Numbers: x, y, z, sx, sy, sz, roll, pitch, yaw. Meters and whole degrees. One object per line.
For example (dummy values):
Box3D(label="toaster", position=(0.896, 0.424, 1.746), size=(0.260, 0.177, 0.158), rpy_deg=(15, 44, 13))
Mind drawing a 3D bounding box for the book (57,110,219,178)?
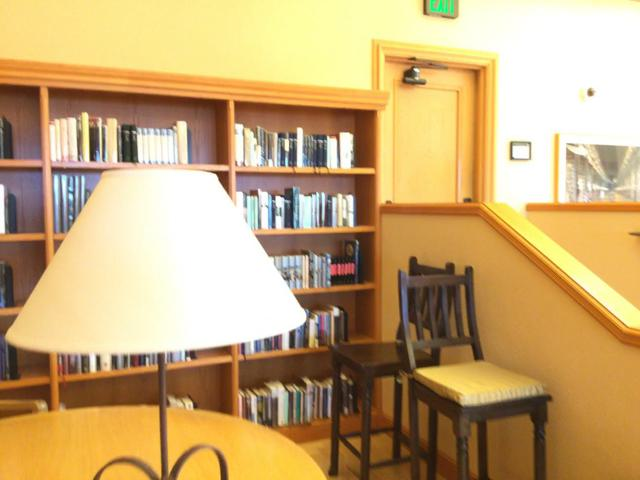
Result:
Box3D(label="book", position=(-0.980, -0.500, 3.120), size=(0.780, 0.310, 0.370), rpy_deg=(-3, 4, -23))

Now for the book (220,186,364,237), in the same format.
Box3D(label="book", position=(-0.160, -0.180, 3.490), size=(0.840, 0.280, 0.210), rpy_deg=(-3, 4, -23))

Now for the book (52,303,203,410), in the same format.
Box3D(label="book", position=(-1.040, 0.610, 3.150), size=(0.730, 0.430, 0.300), rpy_deg=(-3, 4, -23))

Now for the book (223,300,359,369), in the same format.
Box3D(label="book", position=(-0.180, 0.570, 3.580), size=(0.770, 0.280, 0.320), rpy_deg=(-3, 4, -23))

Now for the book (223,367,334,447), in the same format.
Box3D(label="book", position=(-0.260, 1.010, 3.560), size=(0.600, 0.300, 0.330), rpy_deg=(-3, 4, -23))

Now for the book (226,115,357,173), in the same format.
Box3D(label="book", position=(-0.170, -0.560, 3.460), size=(0.720, 0.300, 0.300), rpy_deg=(-3, 4, -23))

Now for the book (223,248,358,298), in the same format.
Box3D(label="book", position=(-0.180, 0.190, 3.550), size=(0.770, 0.230, 0.290), rpy_deg=(-3, 4, -23))
